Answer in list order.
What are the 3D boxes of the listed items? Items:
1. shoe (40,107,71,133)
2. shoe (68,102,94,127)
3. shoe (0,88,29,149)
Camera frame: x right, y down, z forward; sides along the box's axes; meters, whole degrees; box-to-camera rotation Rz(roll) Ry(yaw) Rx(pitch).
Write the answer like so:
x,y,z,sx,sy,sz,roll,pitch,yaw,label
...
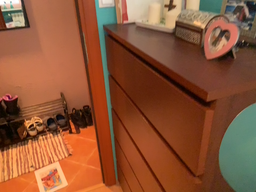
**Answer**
x,y,z,sx,sy,sz,roll,pitch,yaw,label
-0.820,0.260,2.390,0.280,0.130,0.210,-15,31,-20,shoe
-0.550,0.210,2.470,0.230,0.110,0.260,-15,31,-20,shoe
-1.280,0.240,2.140,0.390,0.490,0.280,-16,31,-21,shoe
